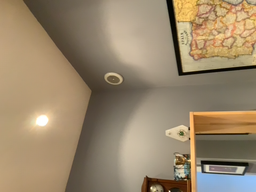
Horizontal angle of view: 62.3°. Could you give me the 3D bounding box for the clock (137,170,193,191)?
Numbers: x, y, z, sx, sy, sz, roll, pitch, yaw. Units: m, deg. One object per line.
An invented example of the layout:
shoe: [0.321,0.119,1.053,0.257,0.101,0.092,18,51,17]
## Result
clock: [0.190,0.500,1.090,0.090,0.270,0.200,62,-150,-53]
